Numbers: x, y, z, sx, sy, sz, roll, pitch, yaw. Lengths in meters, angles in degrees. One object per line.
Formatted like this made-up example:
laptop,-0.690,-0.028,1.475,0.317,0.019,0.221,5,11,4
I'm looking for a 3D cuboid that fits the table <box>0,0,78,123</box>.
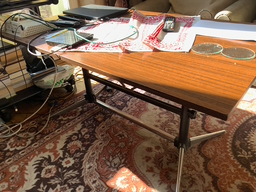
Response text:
table,-0.840,-0.330,1.520,0.540,0.680,0.640,25,42,36
